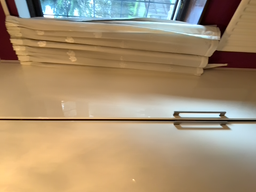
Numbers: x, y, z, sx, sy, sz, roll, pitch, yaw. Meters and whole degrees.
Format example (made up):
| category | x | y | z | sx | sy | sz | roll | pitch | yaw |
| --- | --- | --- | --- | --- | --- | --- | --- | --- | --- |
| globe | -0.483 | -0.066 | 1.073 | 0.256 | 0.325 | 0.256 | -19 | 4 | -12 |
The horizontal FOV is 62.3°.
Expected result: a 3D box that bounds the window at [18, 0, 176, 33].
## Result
| category | x | y | z | sx | sy | sz | roll | pitch | yaw |
| --- | --- | --- | --- | --- | --- | --- | --- | --- | --- |
| window | -0.200 | -0.780 | 1.460 | 0.680 | 1.120 | 0.080 | 101 | 168 | -52 |
